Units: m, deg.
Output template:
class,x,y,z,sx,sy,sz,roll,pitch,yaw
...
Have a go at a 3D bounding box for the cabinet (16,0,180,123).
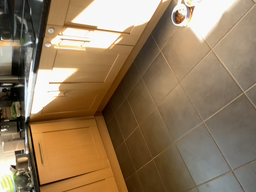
class,x,y,z,sx,sy,sz,roll,pitch,yaw
cabinet,-0.280,-0.680,1.670,2.310,0.890,0.620,-54,50,44
